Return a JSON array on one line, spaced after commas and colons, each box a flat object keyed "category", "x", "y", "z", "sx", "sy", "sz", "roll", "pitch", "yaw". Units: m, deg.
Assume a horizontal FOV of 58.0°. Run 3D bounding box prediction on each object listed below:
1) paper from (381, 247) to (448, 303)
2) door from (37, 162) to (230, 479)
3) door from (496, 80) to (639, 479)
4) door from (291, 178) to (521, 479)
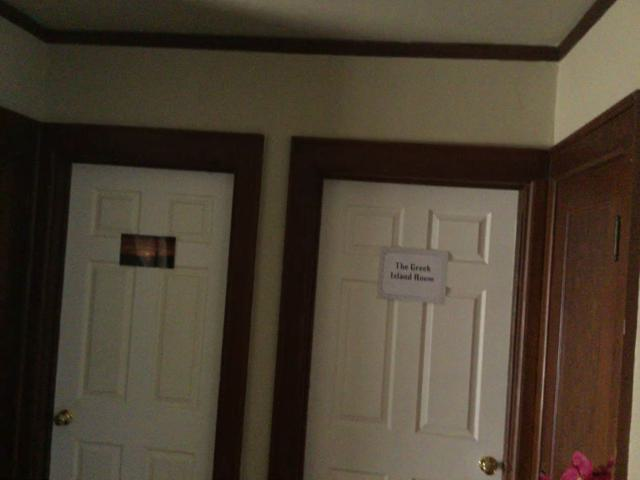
[{"category": "paper", "x": 0.380, "y": 0.140, "z": 2.340, "sx": 0.260, "sy": 0.220, "sz": 0.070, "roll": 0, "pitch": -1, "yaw": 5}, {"category": "door", "x": -0.790, "y": 0.660, "z": 2.450, "sx": 0.810, "sy": 1.970, "sz": 0.060, "roll": 0, "pitch": -1, "yaw": 5}, {"category": "door", "x": 0.740, "y": 0.690, "z": 1.740, "sx": 0.210, "sy": 2.110, "sz": 0.820, "roll": 0, "pitch": -1, "yaw": 5}, {"category": "door", "x": 0.330, "y": 0.720, "z": 2.300, "sx": 0.880, "sy": 1.910, "sz": 0.140, "roll": 0, "pitch": -1, "yaw": 5}]
